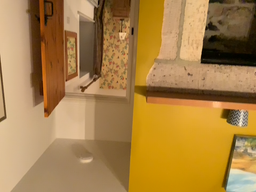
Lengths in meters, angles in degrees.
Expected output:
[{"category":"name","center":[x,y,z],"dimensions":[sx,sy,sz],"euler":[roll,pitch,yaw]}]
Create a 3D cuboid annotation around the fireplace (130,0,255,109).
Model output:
[{"category":"fireplace","center":[1.080,-0.820,1.620],"dimensions":[2.020,1.700,0.790],"euler":[4,-166,1]}]
